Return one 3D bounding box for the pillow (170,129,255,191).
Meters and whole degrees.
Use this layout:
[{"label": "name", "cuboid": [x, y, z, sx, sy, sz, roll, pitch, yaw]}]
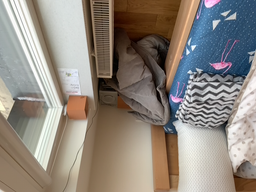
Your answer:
[{"label": "pillow", "cuboid": [0.510, 0.470, 1.370, 0.390, 0.430, 0.240, 3, 143, -3]}]
